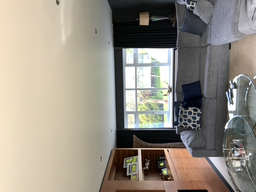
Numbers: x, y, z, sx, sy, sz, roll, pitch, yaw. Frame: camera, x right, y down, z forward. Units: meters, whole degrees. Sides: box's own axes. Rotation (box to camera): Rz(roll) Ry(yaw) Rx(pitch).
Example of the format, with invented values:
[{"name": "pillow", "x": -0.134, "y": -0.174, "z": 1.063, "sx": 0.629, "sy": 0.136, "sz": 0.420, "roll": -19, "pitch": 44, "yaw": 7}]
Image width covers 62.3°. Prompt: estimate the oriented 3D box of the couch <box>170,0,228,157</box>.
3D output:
[{"name": "couch", "x": 1.370, "y": -0.550, "z": 4.400, "sx": 1.170, "sy": 0.790, "sz": 3.270, "roll": -78, "pitch": -13, "yaw": -82}]
